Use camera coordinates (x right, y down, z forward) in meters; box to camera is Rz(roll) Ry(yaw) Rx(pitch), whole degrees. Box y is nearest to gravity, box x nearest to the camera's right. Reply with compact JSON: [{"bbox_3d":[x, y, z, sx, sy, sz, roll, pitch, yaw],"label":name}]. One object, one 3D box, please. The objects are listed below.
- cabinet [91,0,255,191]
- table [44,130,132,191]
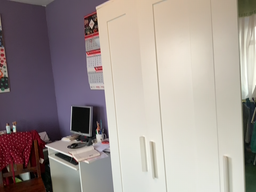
[{"bbox_3d":[0.440,0.330,1.240,0.550,1.900,1.220,-10,9,-42],"label":"cabinet"},{"bbox_3d":[-0.440,0.850,2.300,0.840,0.750,0.490,2,9,43],"label":"table"}]
